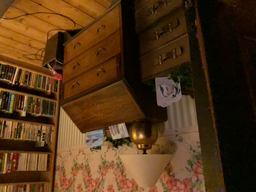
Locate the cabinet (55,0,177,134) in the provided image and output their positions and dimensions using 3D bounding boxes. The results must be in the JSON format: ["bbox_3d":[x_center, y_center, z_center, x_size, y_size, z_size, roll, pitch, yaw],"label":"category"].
[{"bbox_3d":[-0.130,-0.220,1.750,0.800,0.920,0.510,-19,155,40],"label":"cabinet"}]
